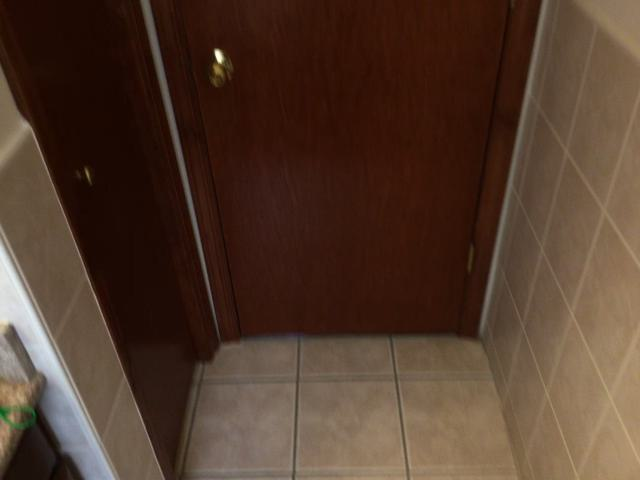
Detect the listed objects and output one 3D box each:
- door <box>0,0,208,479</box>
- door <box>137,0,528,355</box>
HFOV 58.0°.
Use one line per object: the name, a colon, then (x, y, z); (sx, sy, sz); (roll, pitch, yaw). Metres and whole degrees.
door: (-0.420, -0.250, 1.040); (0.050, 2.000, 0.450); (-3, 38, 0)
door: (0.030, -0.480, 1.230); (0.800, 2.070, 0.060); (-3, 38, 1)
